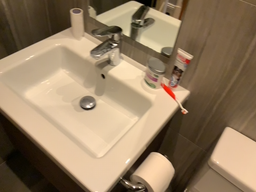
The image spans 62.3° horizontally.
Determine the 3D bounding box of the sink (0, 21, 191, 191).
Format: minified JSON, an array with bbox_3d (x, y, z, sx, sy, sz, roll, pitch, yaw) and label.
[{"bbox_3d":[-0.180,-0.010,0.800,0.660,0.140,0.480,32,51,20],"label":"sink"}]
